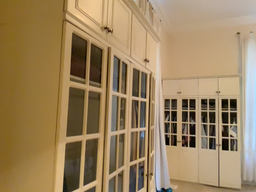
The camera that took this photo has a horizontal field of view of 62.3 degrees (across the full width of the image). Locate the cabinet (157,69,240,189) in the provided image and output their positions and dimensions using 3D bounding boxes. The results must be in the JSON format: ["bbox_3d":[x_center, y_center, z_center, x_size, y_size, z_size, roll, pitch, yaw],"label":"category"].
[{"bbox_3d":[1.450,0.610,4.470,1.540,2.210,0.490,-1,-5,25],"label":"cabinet"}]

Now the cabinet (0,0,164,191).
[{"bbox_3d":[-0.210,0.350,1.650,0.580,2.190,1.560,-1,-5,23],"label":"cabinet"}]
